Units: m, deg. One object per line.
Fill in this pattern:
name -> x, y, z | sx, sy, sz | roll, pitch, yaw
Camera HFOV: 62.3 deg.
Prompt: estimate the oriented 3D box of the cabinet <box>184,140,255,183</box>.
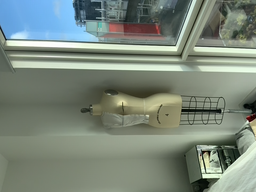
cabinet -> 0.930, 0.700, 2.250 | 0.440, 0.500, 0.310 | 99, 169, -54
